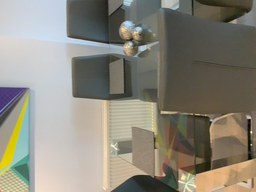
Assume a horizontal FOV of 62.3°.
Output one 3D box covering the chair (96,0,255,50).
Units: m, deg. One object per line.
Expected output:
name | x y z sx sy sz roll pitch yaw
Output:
chair | 0.420 -0.560 1.140 0.560 1.040 0.460 8 98 62

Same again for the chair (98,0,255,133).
chair | 0.430 -0.100 1.120 0.560 1.030 0.410 0 91 62

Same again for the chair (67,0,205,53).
chair | 0.060 -0.650 1.830 0.580 1.020 0.420 10 99 62

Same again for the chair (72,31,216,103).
chair | 0.120 -0.170 1.730 0.590 1.010 0.420 -1 89 62
